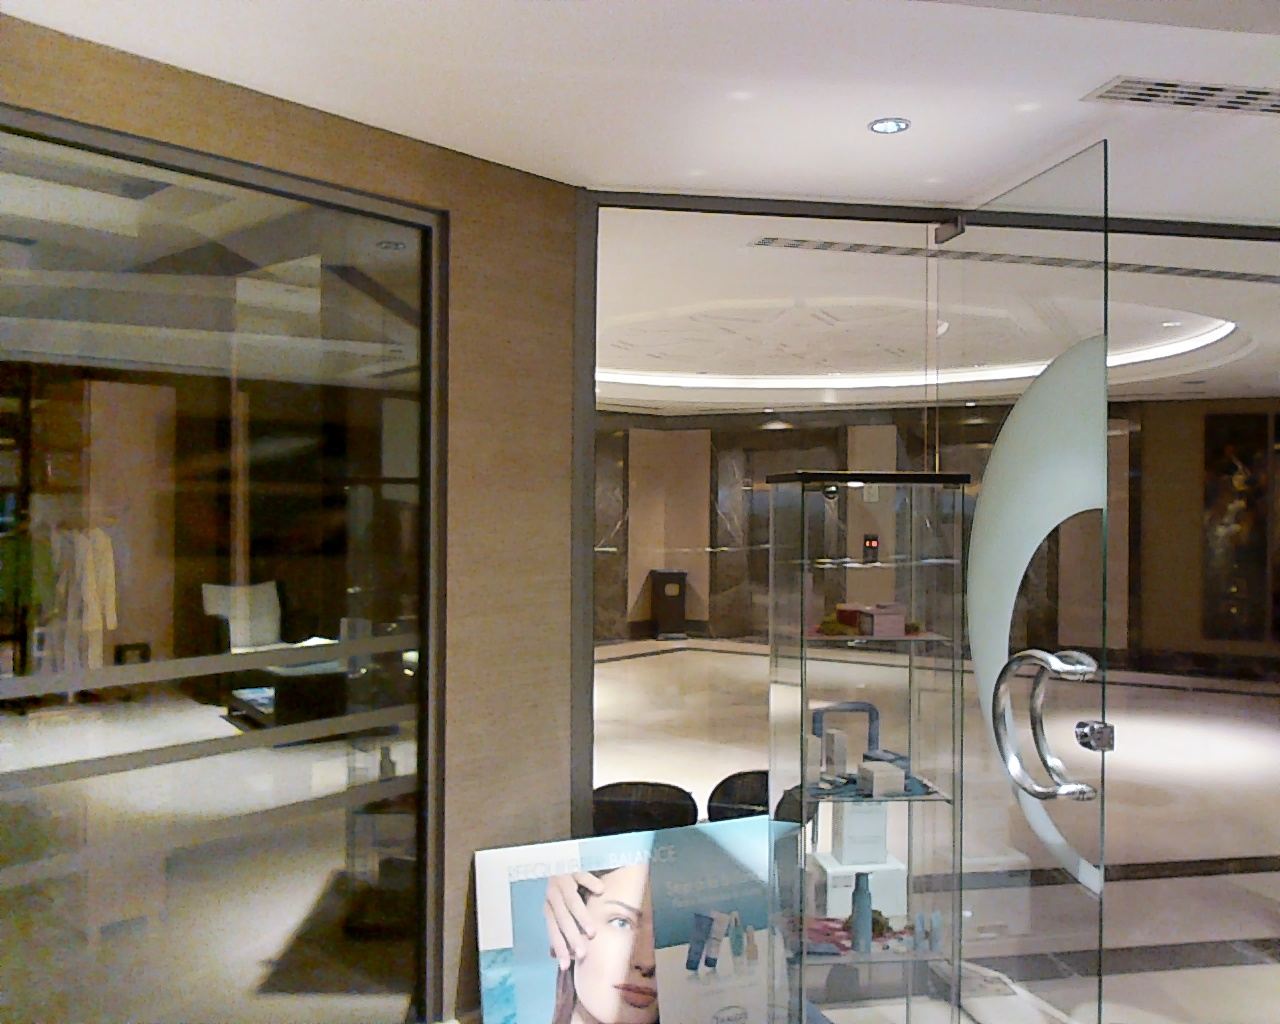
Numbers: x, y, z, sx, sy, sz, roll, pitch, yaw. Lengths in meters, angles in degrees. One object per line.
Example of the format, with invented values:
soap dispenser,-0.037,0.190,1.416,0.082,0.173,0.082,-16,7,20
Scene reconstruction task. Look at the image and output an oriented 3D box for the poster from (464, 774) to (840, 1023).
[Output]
poster,0.070,1.250,3.150,1.050,0.630,0.140,-15,12,-22
